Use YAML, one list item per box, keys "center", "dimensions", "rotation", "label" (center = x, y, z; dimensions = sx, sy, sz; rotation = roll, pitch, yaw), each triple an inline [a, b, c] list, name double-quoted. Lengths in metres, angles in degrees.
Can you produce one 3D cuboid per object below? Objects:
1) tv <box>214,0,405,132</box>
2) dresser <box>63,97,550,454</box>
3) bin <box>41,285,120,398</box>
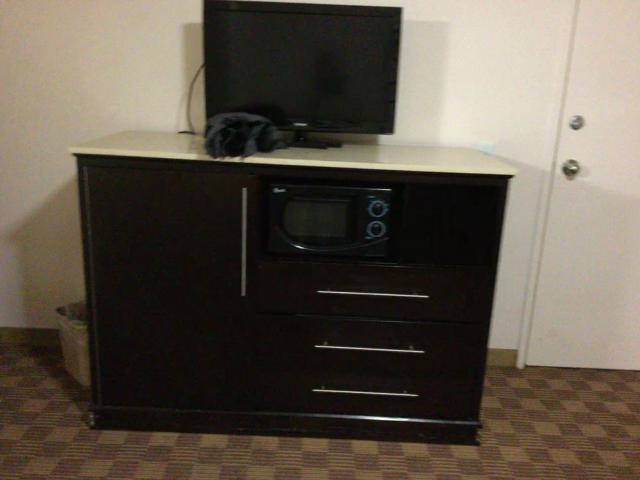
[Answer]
- center: [-0.050, -0.690, 2.300]
  dimensions: [0.710, 0.460, 0.150]
  rotation: [3, 14, -6]
  label: "tv"
- center: [-0.080, 0.110, 2.310]
  dimensions: [1.560, 1.220, 0.660]
  rotation: [3, 14, -6]
  label: "dresser"
- center: [-1.040, 0.420, 2.500]
  dimensions: [0.240, 0.330, 0.380]
  rotation: [-5, 16, -33]
  label: "bin"
